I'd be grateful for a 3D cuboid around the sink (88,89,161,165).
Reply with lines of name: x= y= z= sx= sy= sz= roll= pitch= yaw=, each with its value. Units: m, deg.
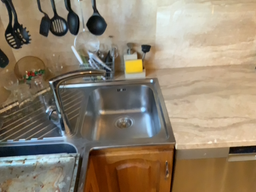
sink: x=-0.020 y=0.150 z=1.120 sx=0.320 sy=0.200 sz=0.340 roll=-3 pitch=35 yaw=-1
